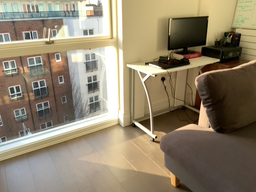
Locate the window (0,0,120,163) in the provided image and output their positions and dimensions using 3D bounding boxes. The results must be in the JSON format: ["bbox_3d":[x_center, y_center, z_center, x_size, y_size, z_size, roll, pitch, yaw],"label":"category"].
[{"bbox_3d":[-0.740,-0.510,1.950,1.350,2.080,0.230,-14,26,-30],"label":"window"}]
